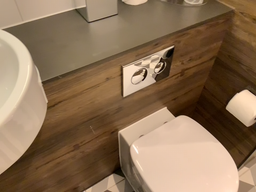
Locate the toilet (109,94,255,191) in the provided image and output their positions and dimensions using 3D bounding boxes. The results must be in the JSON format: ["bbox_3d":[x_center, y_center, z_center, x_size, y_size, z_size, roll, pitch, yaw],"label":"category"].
[{"bbox_3d":[0.210,0.370,1.030,0.390,0.450,0.490,-25,53,-22],"label":"toilet"}]
